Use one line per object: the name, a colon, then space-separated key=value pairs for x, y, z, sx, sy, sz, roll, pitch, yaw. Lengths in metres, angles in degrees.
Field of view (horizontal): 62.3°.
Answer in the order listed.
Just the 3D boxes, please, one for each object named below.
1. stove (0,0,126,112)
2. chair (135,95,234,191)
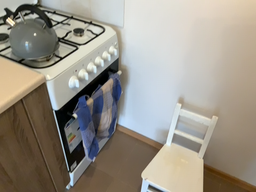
stove: x=-0.420 y=-0.260 z=1.060 sx=0.630 sy=0.150 sz=0.540 roll=22 pitch=45 yaw=19
chair: x=0.290 y=0.350 z=1.170 sx=0.320 sy=0.500 sz=0.400 roll=22 pitch=45 yaw=19
